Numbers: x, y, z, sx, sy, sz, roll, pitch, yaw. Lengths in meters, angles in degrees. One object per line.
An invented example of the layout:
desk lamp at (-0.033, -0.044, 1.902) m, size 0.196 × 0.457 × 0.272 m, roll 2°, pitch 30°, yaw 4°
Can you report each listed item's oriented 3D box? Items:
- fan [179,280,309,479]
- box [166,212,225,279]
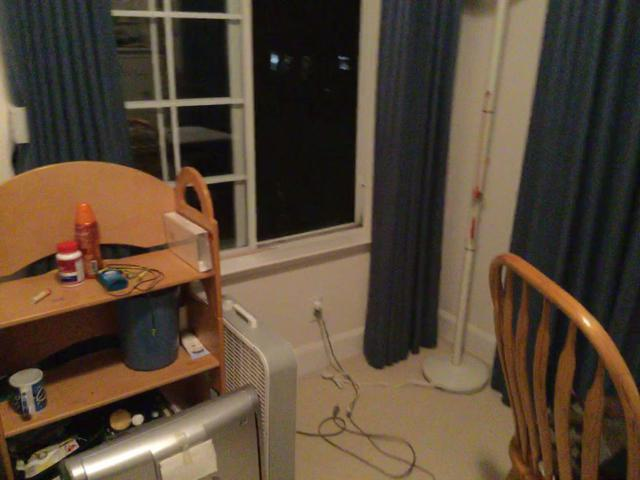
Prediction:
fan at (-0.270, 0.490, 1.980) m, size 0.160 × 0.540 × 0.560 m, roll -15°, pitch 23°, yaw -32°
box at (-0.380, 0.010, 1.750) m, size 0.060 × 0.130 × 0.260 m, roll -15°, pitch 23°, yaw -32°
